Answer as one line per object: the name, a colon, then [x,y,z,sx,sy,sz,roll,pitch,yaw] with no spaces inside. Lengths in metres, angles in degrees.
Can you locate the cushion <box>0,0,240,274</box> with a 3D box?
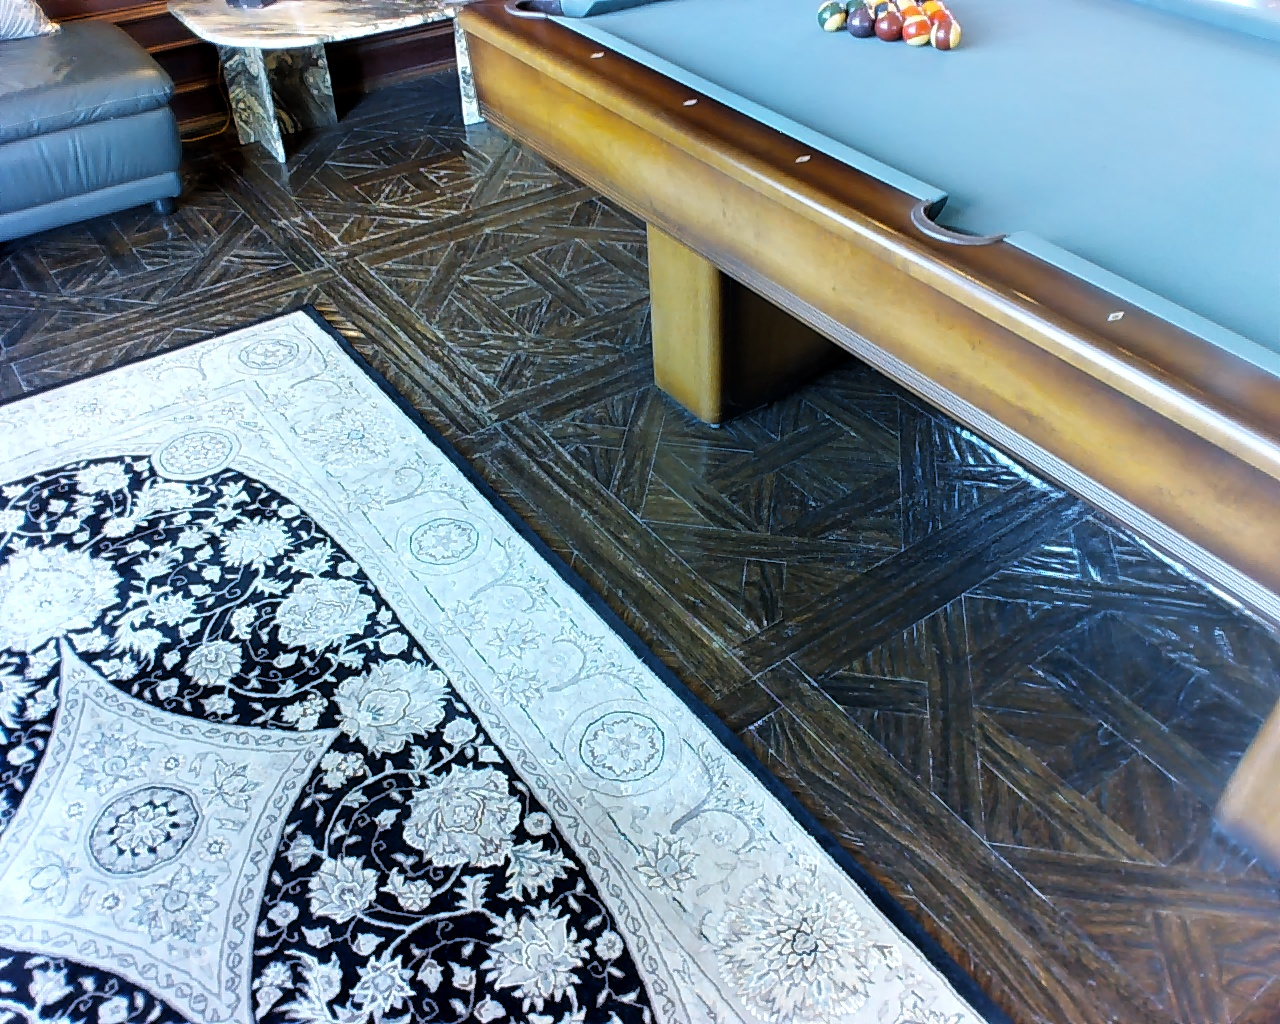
cushion: [-1.760,-1.110,3.100,0.850,0.450,0.700,-26,48,-26]

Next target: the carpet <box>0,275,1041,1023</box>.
carpet: [-0.730,0.450,1.660,1.650,0.030,2.770,-25,48,-26]
